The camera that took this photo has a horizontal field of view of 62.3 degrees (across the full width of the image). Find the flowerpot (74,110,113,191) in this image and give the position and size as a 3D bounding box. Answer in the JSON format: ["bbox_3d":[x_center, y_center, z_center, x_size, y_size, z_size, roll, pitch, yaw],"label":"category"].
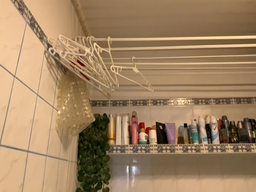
[{"bbox_3d":[-0.200,0.430,1.300,0.160,0.650,0.220,-2,-21,6],"label":"flowerpot"}]
